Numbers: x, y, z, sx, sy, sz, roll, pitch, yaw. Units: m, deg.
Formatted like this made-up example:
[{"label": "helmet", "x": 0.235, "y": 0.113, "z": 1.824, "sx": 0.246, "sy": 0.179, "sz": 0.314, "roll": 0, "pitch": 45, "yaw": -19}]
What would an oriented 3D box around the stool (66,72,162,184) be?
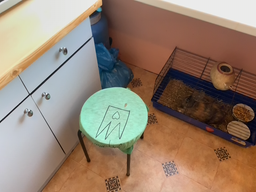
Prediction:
[{"label": "stool", "x": -0.060, "y": 0.190, "z": 1.170, "sx": 0.320, "sy": 0.460, "sz": 0.330, "roll": 24, "pitch": 56, "yaw": 15}]
